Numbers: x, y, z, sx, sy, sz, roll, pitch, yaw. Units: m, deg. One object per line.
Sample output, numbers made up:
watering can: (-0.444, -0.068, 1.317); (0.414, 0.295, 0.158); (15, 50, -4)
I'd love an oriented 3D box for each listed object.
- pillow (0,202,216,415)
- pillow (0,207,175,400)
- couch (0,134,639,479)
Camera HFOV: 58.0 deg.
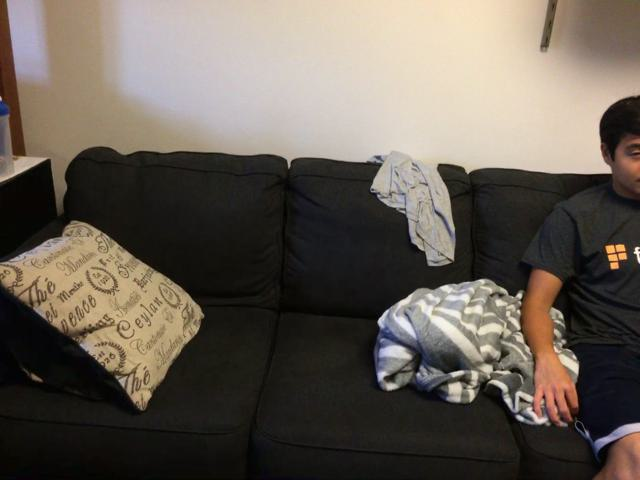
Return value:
pillow: (-0.510, 0.140, 1.470); (0.380, 0.320, 0.520); (2, 21, 1)
pillow: (-0.630, 0.130, 1.490); (0.360, 0.270, 0.530); (2, 21, 1)
couch: (0.140, 0.270, 1.670); (2.130, 0.900, 1.000); (2, 21, 1)
